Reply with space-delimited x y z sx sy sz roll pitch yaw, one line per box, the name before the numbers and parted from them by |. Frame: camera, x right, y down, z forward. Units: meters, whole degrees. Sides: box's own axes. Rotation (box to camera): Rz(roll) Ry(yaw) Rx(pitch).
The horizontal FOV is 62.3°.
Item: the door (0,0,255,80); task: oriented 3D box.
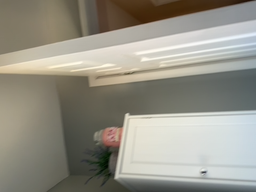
door | 0.500 -0.180 0.670 0.910 1.730 0.090 -13 -82 -70
